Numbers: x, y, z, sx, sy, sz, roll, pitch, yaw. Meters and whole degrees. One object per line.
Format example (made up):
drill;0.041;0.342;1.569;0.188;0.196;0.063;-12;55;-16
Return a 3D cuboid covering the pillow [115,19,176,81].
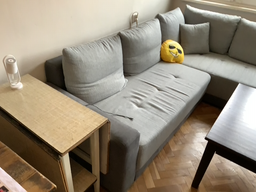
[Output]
pillow;0.190;-0.510;2.290;0.210;0.470;0.610;39;45;16

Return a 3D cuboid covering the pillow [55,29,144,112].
pillow;-0.240;-0.240;1.820;0.230;0.500;0.690;42;45;20

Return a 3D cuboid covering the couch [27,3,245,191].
couch;0.380;-0.320;2.340;0.990;0.870;2.460;24;39;26
